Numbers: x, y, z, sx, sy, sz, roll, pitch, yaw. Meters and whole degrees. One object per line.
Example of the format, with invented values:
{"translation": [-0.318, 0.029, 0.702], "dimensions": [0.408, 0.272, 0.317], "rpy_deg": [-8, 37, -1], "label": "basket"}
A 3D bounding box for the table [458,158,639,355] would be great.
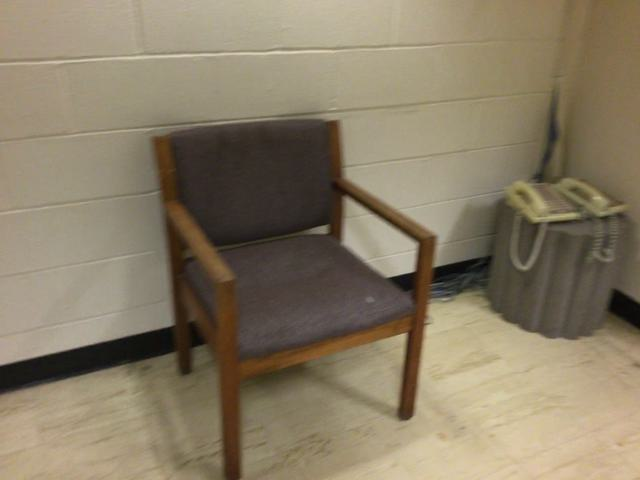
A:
{"translation": [0.930, 0.030, 2.260], "dimensions": [0.470, 0.540, 0.530], "rpy_deg": [-9, 26, -24], "label": "table"}

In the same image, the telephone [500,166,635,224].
{"translation": [0.940, -0.180, 2.210], "dimensions": [0.390, 0.100, 0.270], "rpy_deg": [-9, 26, -24], "label": "telephone"}

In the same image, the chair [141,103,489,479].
{"translation": [-0.070, 0.110, 1.730], "dimensions": [0.720, 0.880, 0.670], "rpy_deg": [-9, 26, -24], "label": "chair"}
